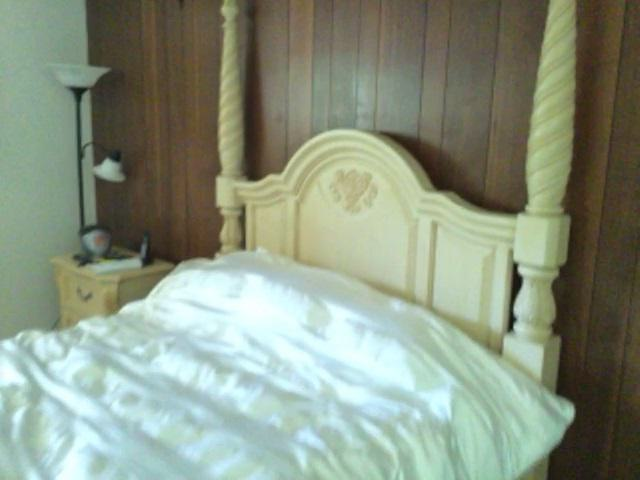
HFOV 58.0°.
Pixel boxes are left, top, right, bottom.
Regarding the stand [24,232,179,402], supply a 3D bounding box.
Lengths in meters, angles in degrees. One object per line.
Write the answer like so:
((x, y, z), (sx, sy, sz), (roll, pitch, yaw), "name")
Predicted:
((-1.280, 0.400, 3.390), (0.770, 0.740, 0.510), (11, 14, 40), "stand")

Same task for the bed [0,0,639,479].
((-0.660, 0.050, 1.530), (2.050, 2.260, 2.330), (11, 14, 40), "bed")
